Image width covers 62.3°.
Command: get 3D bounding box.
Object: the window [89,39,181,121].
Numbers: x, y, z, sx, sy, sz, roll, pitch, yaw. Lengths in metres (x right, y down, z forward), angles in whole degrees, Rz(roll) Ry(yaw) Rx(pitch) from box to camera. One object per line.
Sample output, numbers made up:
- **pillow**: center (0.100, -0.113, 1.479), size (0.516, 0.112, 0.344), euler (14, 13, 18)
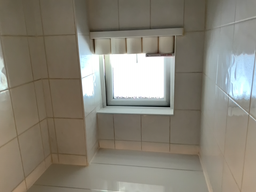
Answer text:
- **window**: center (0.070, -0.130, 1.560), size (0.600, 0.540, 0.260), euler (1, -165, 13)
